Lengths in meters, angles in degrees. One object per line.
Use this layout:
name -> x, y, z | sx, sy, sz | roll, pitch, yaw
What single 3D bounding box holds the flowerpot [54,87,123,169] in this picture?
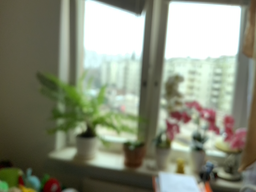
flowerpot -> -0.330, 0.250, 1.800 | 0.500, 0.590, 0.220 | 6, 7, 12
